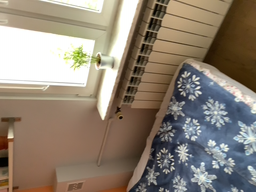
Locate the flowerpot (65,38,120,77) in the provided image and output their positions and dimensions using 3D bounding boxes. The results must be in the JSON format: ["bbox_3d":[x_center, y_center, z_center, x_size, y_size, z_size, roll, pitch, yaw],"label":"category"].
[{"bbox_3d":[-0.230,-0.240,1.370,0.090,0.300,0.200,60,139,46],"label":"flowerpot"}]
